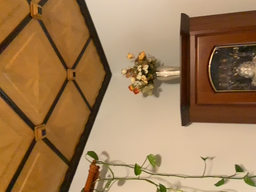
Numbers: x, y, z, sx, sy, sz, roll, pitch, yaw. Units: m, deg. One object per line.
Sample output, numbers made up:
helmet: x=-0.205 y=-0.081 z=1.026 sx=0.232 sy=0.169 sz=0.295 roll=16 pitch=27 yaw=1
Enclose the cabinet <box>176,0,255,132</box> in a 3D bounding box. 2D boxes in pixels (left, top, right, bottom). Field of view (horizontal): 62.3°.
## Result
cabinet: x=0.860 y=-0.170 z=1.200 sx=0.560 sy=1.100 sz=0.540 roll=71 pitch=-155 yaw=-47
